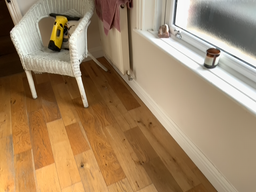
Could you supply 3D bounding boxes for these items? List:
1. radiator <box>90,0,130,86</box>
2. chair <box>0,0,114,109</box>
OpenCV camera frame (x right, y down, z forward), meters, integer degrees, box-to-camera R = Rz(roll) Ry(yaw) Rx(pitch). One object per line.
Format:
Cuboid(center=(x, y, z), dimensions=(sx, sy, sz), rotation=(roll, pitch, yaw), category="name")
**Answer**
Cuboid(center=(-0.160, -0.580, 1.850), dimensions=(0.130, 0.880, 0.480), rotation=(-19, 43, -19), category="radiator")
Cuboid(center=(-0.560, -0.420, 1.830), dimensions=(0.630, 0.720, 0.620), rotation=(11, 42, 16), category="chair")
